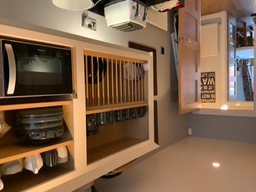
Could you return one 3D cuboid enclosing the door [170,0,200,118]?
[{"bbox_3d":[0.820,-0.780,2.960,0.170,2.060,0.780,1,-177,33],"label":"door"}]
